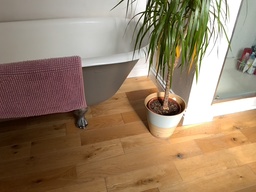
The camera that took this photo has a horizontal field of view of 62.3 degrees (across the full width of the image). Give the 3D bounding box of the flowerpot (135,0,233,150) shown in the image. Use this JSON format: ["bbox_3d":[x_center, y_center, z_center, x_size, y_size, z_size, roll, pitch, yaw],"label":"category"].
[{"bbox_3d":[0.250,-0.200,1.210,0.290,1.020,0.360,-10,37,-14],"label":"flowerpot"}]
